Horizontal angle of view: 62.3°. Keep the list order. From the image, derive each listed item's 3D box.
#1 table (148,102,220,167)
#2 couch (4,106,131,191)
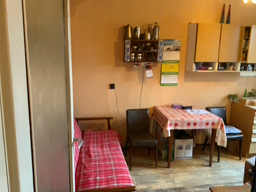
[{"bbox_3d":[0.850,0.570,3.470,0.820,0.770,0.810,0,12,-10],"label":"table"},{"bbox_3d":[-0.570,0.730,2.550,0.880,0.740,1.990,0,12,-9],"label":"couch"}]
